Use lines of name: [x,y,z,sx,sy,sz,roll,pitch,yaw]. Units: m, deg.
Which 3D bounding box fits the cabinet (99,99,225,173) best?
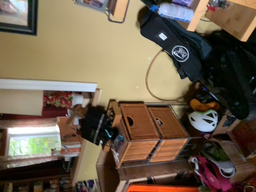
cabinet: [0.290,0.320,1.910,0.440,0.960,0.390,-122,41,-50]
